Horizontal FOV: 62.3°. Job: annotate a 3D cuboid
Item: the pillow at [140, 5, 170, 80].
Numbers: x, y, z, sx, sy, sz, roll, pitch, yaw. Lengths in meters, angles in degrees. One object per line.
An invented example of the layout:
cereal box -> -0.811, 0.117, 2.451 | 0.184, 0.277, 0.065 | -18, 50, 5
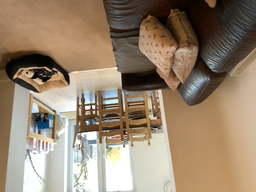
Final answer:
pillow -> 0.210, -0.420, 1.650 | 0.130, 0.360, 0.450 | -11, 124, 6

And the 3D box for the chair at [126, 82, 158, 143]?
chair -> 0.250, 0.320, 3.980 | 0.460, 1.010, 0.470 | -6, 161, 3

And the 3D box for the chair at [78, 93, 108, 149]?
chair -> -0.710, 0.510, 4.280 | 0.470, 1.010, 0.460 | -6, 161, 3

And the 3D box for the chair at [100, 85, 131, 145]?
chair -> -0.240, 0.370, 4.000 | 0.460, 1.010, 0.470 | -6, 161, 3
